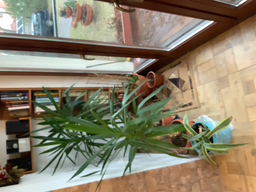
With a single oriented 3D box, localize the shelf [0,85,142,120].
[{"bbox_3d":[-0.660,0.060,2.720,0.300,1.740,0.320,-28,67,59],"label":"shelf"}]
